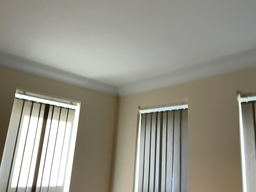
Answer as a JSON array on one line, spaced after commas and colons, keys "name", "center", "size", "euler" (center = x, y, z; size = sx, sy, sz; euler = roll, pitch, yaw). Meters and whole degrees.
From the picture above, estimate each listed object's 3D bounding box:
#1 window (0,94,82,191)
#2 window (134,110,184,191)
[{"name": "window", "center": [-0.810, 0.790, 1.850], "size": [0.700, 1.510, 0.040], "euler": [17, -19, -40]}, {"name": "window", "center": [0.250, 0.900, 1.870], "size": [0.040, 1.520, 0.540], "euler": [16, -18, -38]}]
